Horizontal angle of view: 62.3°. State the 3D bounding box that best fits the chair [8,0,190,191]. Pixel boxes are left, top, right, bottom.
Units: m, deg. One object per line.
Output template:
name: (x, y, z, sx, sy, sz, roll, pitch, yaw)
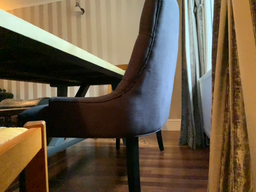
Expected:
chair: (0.030, 0.040, 1.480, 0.660, 0.920, 1.480, -2, 0, 13)
